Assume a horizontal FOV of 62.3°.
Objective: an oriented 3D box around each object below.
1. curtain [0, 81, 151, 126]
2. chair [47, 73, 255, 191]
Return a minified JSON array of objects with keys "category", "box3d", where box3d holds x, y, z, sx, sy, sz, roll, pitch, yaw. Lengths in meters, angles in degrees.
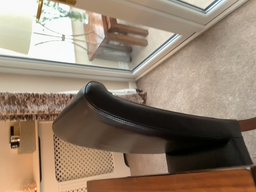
[{"category":"curtain","box3d":[-0.800,0.070,1.520,0.420,2.110,0.190,-34,61,51]},{"category":"chair","box3d":[0.240,0.270,0.910,0.440,1.000,0.520,-33,62,52]}]
